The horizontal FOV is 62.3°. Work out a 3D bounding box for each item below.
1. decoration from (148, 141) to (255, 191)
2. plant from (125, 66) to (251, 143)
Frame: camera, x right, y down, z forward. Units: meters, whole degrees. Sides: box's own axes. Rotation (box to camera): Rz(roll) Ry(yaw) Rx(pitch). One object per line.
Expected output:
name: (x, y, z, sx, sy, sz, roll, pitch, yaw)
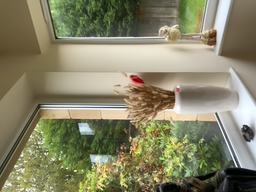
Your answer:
decoration: (0.350, 0.360, 0.850, 0.190, 0.520, 0.300, -85, -5, -50)
plant: (0.300, 0.050, 1.260, 0.280, 0.610, 0.350, -85, -4, -49)
